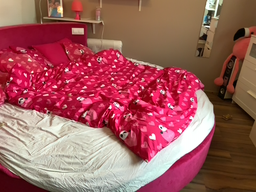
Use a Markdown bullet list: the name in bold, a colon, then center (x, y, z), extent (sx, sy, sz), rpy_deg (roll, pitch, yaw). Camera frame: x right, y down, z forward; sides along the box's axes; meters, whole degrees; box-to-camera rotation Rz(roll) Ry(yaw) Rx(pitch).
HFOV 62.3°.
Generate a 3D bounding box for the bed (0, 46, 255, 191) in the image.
- **bed**: center (-0.370, 0.060, 2.270), extent (2.350, 0.450, 2.360), rpy_deg (6, 26, 5)
